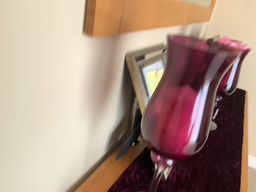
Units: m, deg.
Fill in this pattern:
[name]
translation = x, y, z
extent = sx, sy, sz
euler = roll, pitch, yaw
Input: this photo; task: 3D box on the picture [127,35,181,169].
[picture]
translation = 0.120, 0.030, 0.810
extent = 0.080, 0.410, 0.340
euler = 6, -5, 21
